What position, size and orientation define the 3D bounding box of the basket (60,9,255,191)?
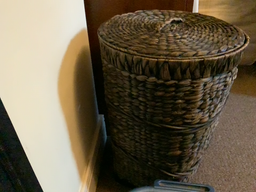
[{"bbox_3d":[0.110,0.060,0.800,0.480,0.640,0.410,3,35,5],"label":"basket"}]
